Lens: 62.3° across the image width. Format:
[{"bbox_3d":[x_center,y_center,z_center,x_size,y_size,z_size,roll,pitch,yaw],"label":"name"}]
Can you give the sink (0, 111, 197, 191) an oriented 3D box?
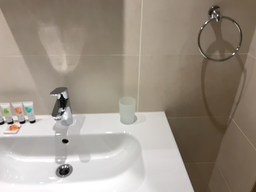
[{"bbox_3d":[-0.240,0.250,0.760,0.840,0.140,0.440,-1,30,-4],"label":"sink"}]
